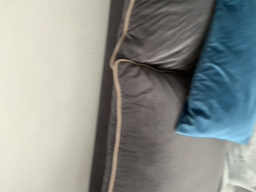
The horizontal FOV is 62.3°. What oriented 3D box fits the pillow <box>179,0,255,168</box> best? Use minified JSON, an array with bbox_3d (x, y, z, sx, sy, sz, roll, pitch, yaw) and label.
[{"bbox_3d":[0.330,-0.080,0.630,0.130,0.270,0.510,26,121,34],"label":"pillow"}]
